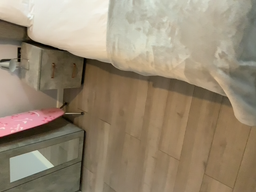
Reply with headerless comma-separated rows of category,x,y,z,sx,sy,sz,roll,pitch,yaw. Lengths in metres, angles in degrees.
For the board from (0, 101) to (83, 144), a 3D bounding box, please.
board,-1.160,0.260,1.960,0.430,1.440,0.160,23,111,43
